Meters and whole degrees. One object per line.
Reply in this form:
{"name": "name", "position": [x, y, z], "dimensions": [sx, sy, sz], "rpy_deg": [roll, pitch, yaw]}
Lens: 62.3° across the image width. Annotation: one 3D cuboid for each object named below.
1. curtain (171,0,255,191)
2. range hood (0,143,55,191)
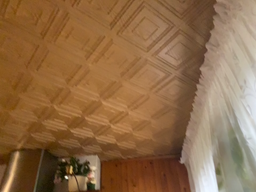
{"name": "curtain", "position": [0.530, 0.320, 1.080], "dimensions": [0.200, 1.240, 2.510], "rpy_deg": [-5, -38, 2]}
{"name": "range hood", "position": [-0.970, 0.820, 1.940], "dimensions": [0.380, 0.650, 0.320], "rpy_deg": [-8, -38, 6]}
